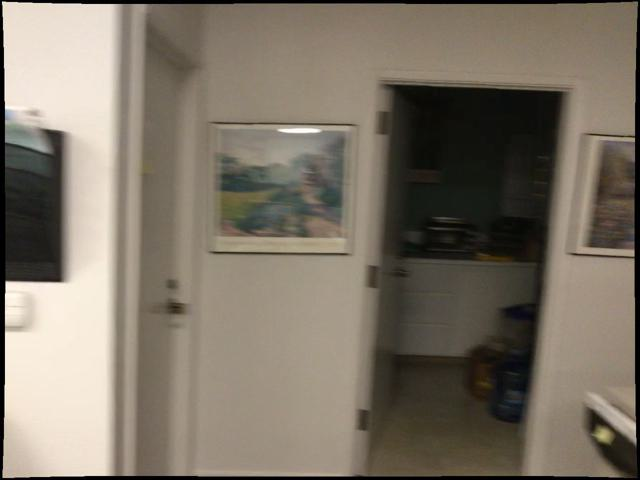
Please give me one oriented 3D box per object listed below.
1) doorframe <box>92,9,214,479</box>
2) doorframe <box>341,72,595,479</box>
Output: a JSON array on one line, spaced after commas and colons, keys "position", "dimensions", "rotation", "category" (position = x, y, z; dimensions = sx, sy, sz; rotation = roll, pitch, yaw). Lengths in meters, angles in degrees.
[{"position": [-0.599, 0.160, 2.270], "dimensions": [0.170, 1.812, 0.880], "rotation": [1, 6, 2], "category": "doorframe"}, {"position": [0.669, 0.220, 2.850], "dimensions": [1.099, 1.982, 0.320], "rotation": [1, 6, 2], "category": "doorframe"}]
